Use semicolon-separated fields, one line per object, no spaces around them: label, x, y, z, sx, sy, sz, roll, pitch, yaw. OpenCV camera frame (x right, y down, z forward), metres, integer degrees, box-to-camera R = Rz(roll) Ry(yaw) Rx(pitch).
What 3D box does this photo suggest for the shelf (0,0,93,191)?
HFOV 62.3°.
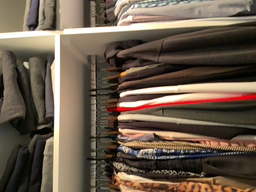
shelf;-0.430;-0.610;1.060;0.550;0.380;2.310;52;-143;-83
